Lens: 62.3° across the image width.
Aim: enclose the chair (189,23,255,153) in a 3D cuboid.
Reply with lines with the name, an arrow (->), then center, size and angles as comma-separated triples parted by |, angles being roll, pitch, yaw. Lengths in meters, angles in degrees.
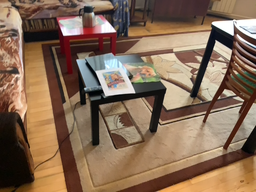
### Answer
chair -> 0.870, -0.050, 1.610 | 0.430, 0.860, 0.410 | -11, 41, -20
